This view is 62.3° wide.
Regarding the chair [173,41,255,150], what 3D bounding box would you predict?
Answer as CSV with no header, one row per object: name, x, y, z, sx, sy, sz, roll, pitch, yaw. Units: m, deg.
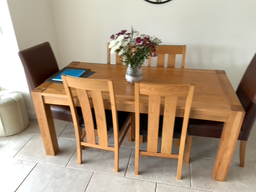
chair,0.810,0.000,2.200,0.570,1.010,0.430,4,28,9

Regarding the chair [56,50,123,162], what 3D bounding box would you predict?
chair,-0.320,0.100,2.100,0.430,0.970,0.460,5,29,11

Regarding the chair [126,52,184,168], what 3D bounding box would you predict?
chair,0.250,0.130,2.020,0.430,0.970,0.460,5,29,11

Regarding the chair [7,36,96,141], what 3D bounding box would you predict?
chair,-0.790,-0.090,2.400,0.640,1.030,0.460,6,29,12

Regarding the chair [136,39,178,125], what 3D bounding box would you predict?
chair,0.350,-0.180,2.640,0.430,0.940,0.460,4,28,8
